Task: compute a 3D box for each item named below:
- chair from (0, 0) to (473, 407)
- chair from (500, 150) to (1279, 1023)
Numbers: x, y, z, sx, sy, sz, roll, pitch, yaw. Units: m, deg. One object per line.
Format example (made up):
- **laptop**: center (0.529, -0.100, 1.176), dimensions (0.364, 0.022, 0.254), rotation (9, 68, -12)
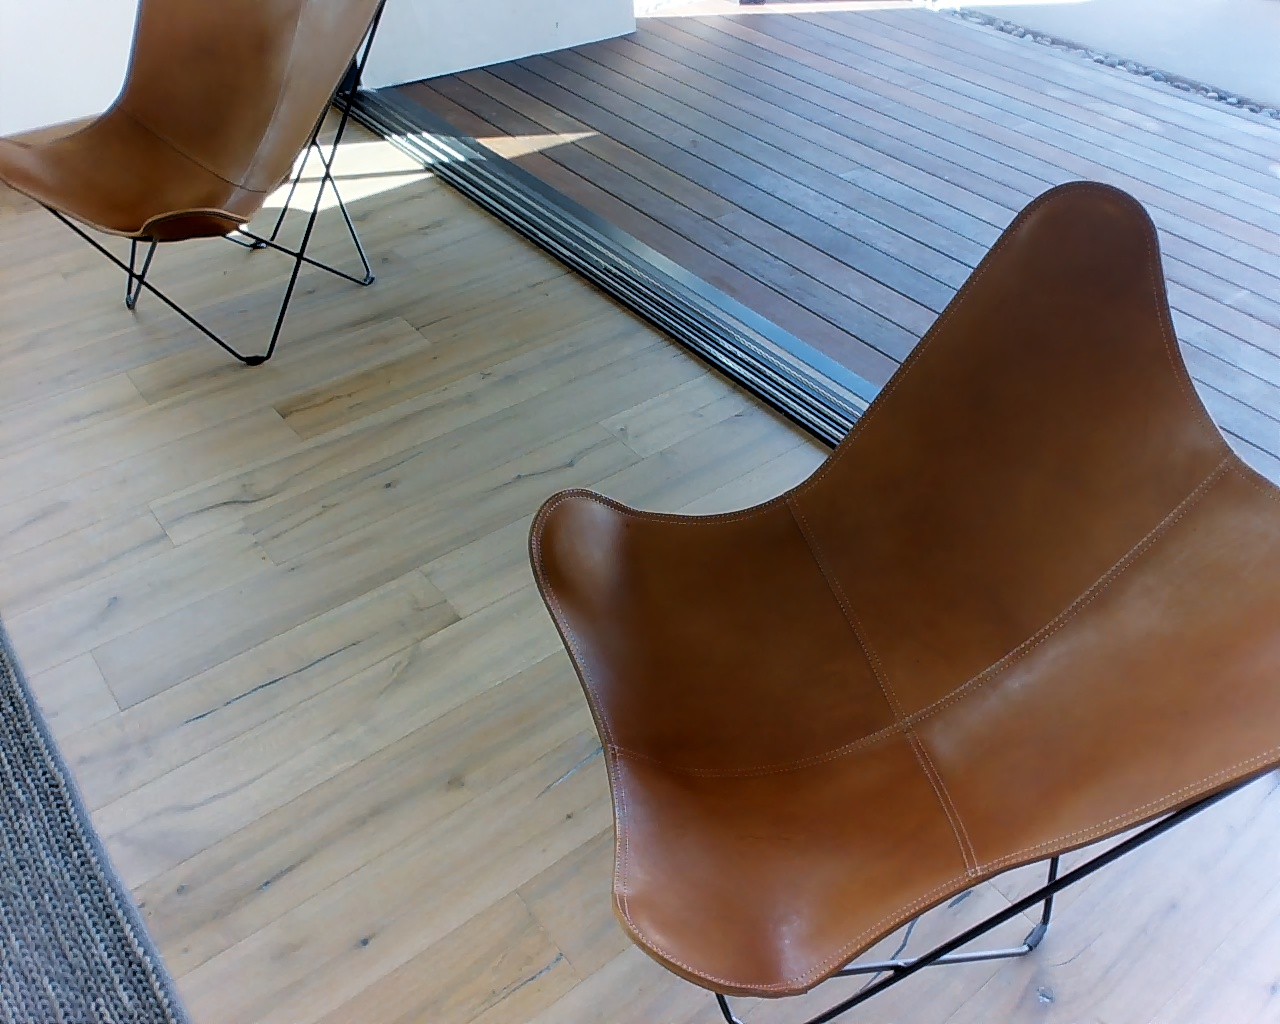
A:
- **chair**: center (-1.100, -1.010, 2.770), dimensions (0.830, 0.910, 0.960), rotation (22, 46, 22)
- **chair**: center (0.360, 0.210, 1.450), dimensions (0.910, 0.970, 0.930), rotation (-8, 43, -10)
